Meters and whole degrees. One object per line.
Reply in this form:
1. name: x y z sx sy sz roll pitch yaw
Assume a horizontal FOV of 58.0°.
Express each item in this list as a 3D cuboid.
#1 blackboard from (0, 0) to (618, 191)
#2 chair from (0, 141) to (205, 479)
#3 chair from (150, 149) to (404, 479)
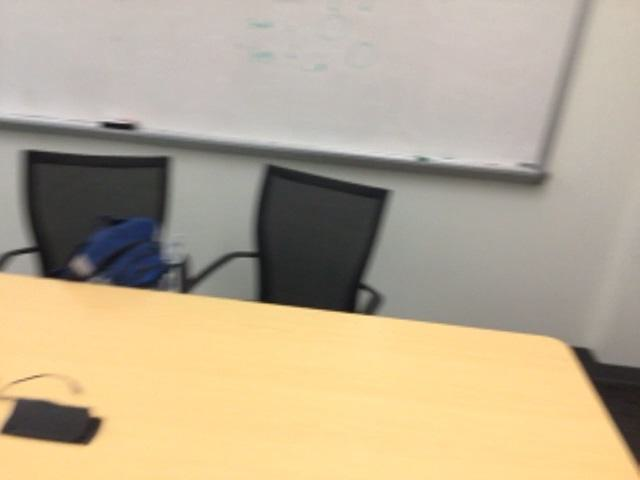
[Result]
1. blackboard: -0.200 -0.940 2.030 2.410 1.240 0.160 7 22 0
2. chair: -0.700 0.220 1.780 0.620 0.880 0.560 3 23 -10
3. chair: -0.130 0.250 1.810 0.550 0.880 0.560 13 23 13
